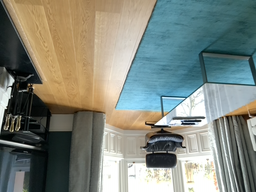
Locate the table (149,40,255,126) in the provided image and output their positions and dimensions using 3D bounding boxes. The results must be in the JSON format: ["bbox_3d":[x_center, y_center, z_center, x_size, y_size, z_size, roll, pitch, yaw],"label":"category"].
[{"bbox_3d":[0.760,-0.020,2.270,0.700,0.380,1.310,2,159,-11],"label":"table"}]
